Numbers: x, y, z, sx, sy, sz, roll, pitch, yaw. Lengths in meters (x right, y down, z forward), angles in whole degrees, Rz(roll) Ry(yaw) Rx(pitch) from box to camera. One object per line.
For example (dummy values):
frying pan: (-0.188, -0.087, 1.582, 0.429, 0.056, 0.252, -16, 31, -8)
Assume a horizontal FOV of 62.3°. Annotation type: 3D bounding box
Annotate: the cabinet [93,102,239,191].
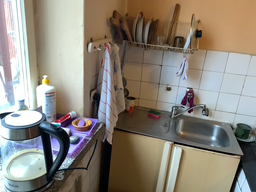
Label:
cabinet: (0.240, 0.580, 1.710, 0.910, 0.810, 0.490, 9, 21, 10)
